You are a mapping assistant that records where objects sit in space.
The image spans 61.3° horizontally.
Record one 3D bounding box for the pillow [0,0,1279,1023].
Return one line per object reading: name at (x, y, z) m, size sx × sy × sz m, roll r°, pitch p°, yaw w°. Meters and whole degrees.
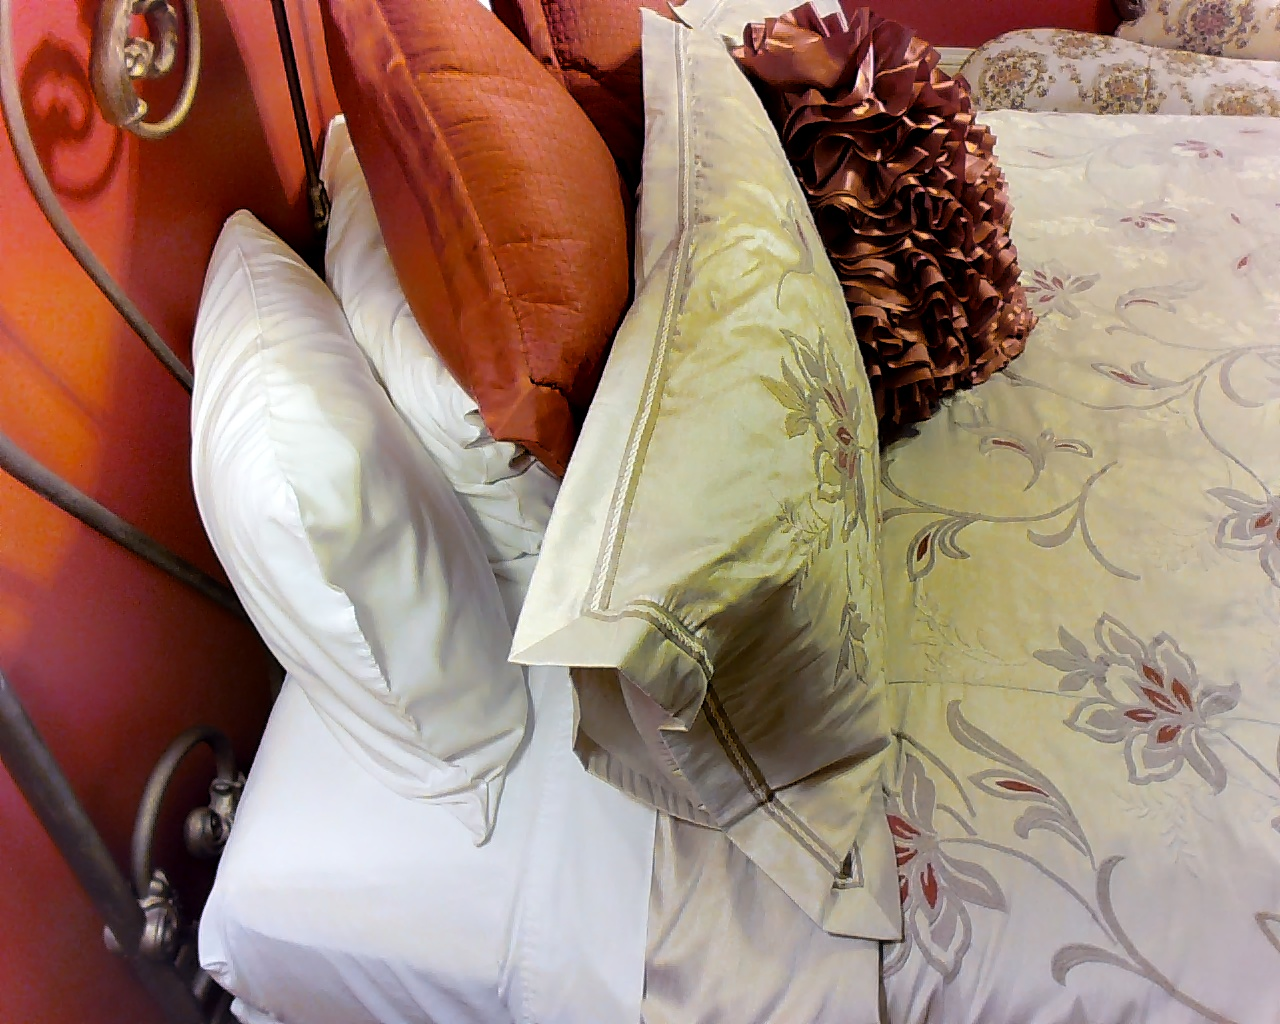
pillow at (0.080, -0.540, 1.320) m, size 1.020 × 0.660 × 2.240 m, roll 5°, pitch 43°, yaw 5°
